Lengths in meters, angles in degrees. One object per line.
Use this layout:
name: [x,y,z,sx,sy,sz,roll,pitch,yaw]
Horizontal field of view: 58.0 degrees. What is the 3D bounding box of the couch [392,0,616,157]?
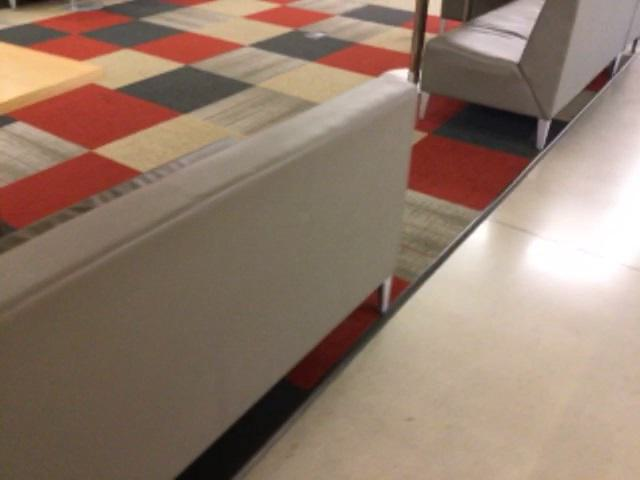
couch: [0.890,-0.950,2.890,0.850,0.720,0.510,23,40,28]
